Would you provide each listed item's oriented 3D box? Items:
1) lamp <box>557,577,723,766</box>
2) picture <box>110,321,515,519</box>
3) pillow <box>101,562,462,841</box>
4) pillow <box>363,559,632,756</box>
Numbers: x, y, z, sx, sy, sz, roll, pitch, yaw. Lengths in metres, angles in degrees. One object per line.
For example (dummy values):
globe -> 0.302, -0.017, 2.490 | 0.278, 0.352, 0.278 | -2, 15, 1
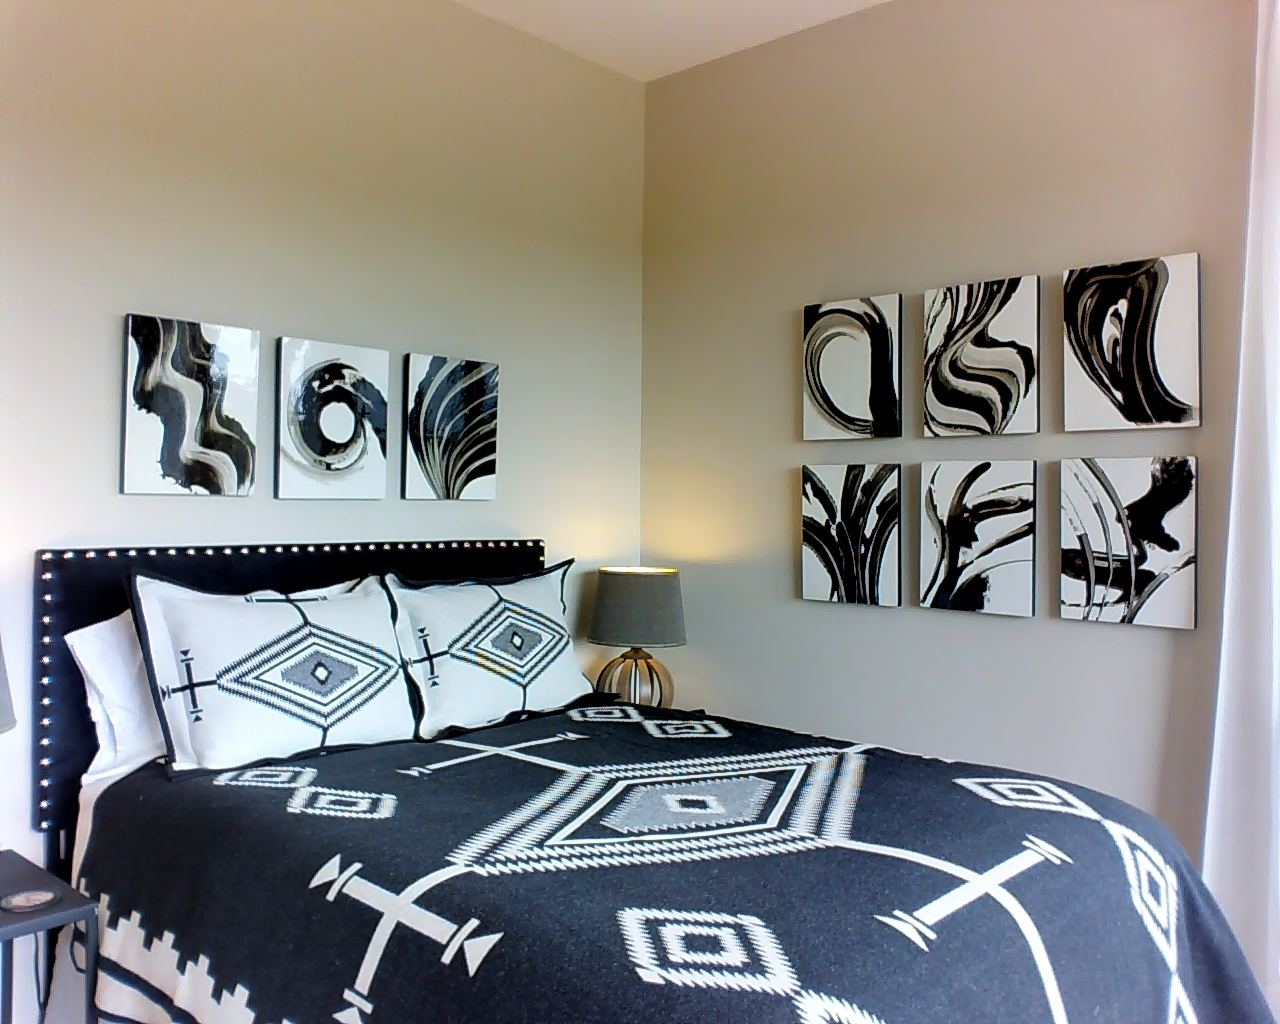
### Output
lamp -> 0.000, 0.540, 3.790 | 0.420, 0.580, 0.400 | 1, 0, 42
picture -> -0.860, -0.220, 3.090 | 0.070, 0.480, 1.260 | 1, 0, 42
pillow -> -0.850, 0.420, 2.600 | 0.300, 0.500, 0.700 | 25, 16, 39
pillow -> -0.400, 0.400, 3.120 | 0.210, 0.460, 0.690 | 32, 21, 37
